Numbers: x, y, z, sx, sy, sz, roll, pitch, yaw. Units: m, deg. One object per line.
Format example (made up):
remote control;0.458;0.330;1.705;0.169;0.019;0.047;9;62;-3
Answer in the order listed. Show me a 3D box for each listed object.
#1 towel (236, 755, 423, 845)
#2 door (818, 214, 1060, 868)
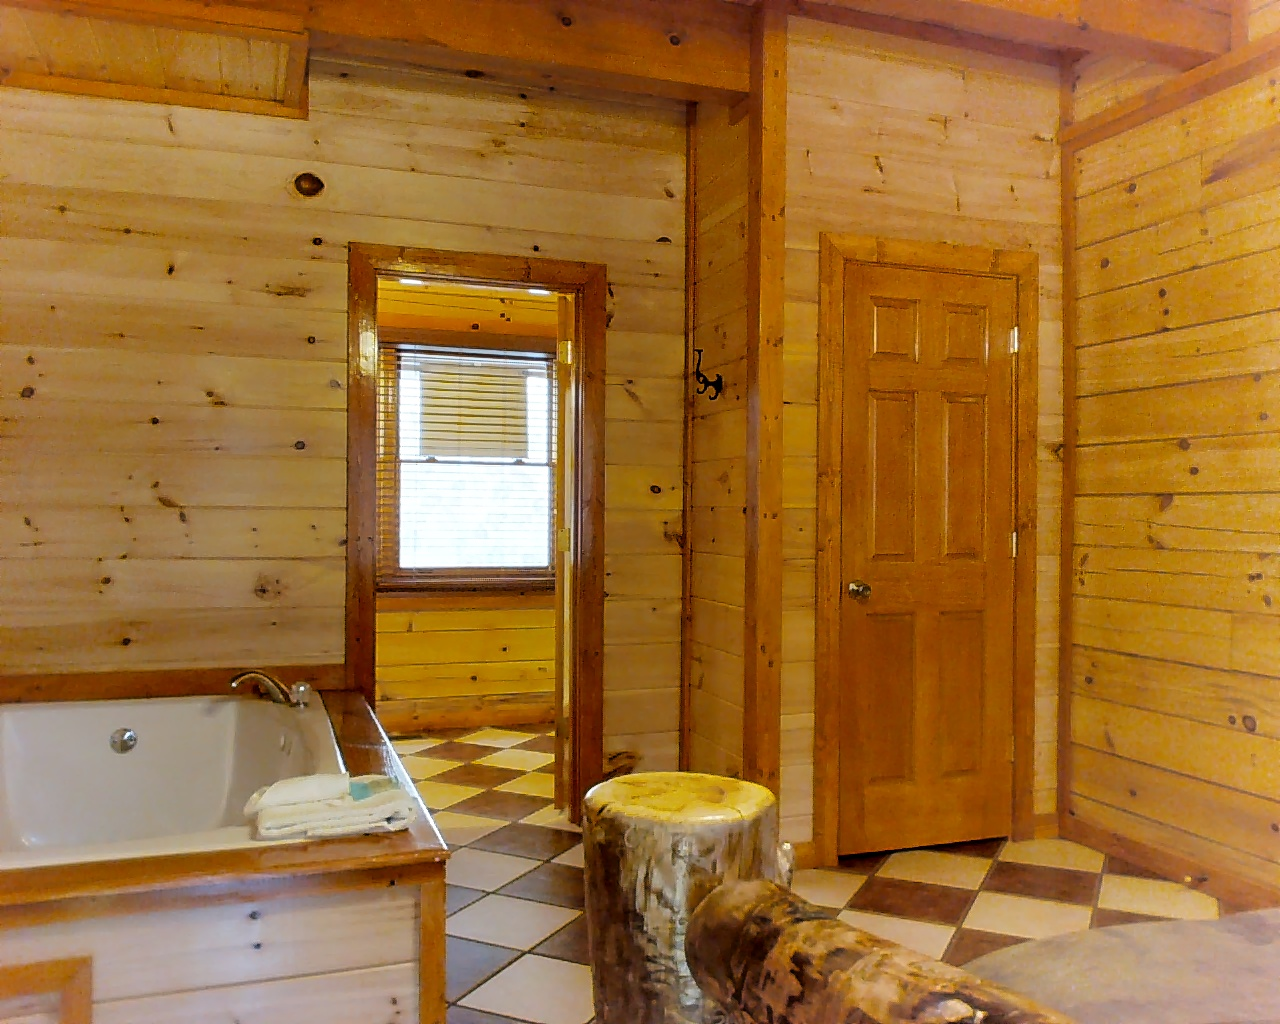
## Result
towel;-0.620;0.570;2.160;0.340;0.100;0.230;1;0;-17
door;1.060;0.100;3.770;0.920;2.171;0.080;1;0;-20
